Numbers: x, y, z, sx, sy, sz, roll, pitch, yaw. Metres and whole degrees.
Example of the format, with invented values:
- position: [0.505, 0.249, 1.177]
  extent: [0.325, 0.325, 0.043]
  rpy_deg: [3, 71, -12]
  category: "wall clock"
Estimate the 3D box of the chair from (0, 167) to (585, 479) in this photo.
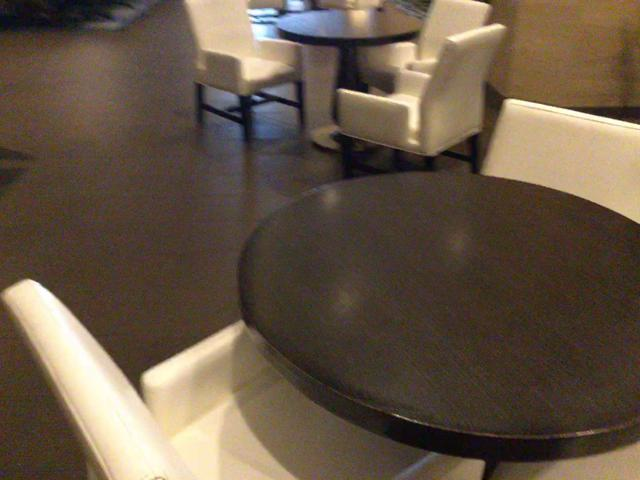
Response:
- position: [-0.100, 0.430, 1.110]
  extent: [0.690, 0.830, 0.670]
  rpy_deg: [-18, 35, -29]
  category: "chair"

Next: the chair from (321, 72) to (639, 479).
- position: [0.570, 0.110, 1.640]
  extent: [0.700, 0.870, 0.880]
  rpy_deg: [26, 39, 34]
  category: "chair"

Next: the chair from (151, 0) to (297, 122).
- position: [-0.630, -1.380, 3.890]
  extent: [0.670, 0.890, 0.670]
  rpy_deg: [26, 38, 34]
  category: "chair"

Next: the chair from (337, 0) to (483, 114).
- position: [0.560, -1.340, 3.710]
  extent: [0.680, 0.840, 0.580]
  rpy_deg: [-16, 32, -28]
  category: "chair"

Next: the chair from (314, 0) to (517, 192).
- position: [0.470, -0.840, 3.030]
  extent: [0.730, 0.820, 0.660]
  rpy_deg: [24, 37, 32]
  category: "chair"
